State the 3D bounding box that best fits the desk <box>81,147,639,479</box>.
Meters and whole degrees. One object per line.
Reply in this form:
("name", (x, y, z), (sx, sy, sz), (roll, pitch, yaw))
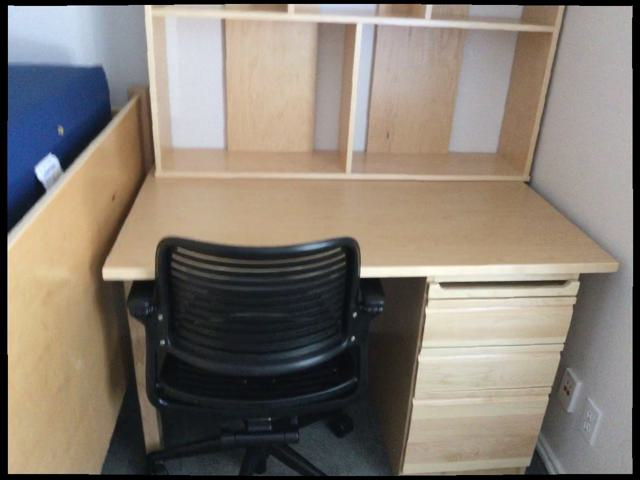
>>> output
("desk", (0.060, 0.240, 1.890), (1.288, 0.791, 0.900), (1, 27, -6))
